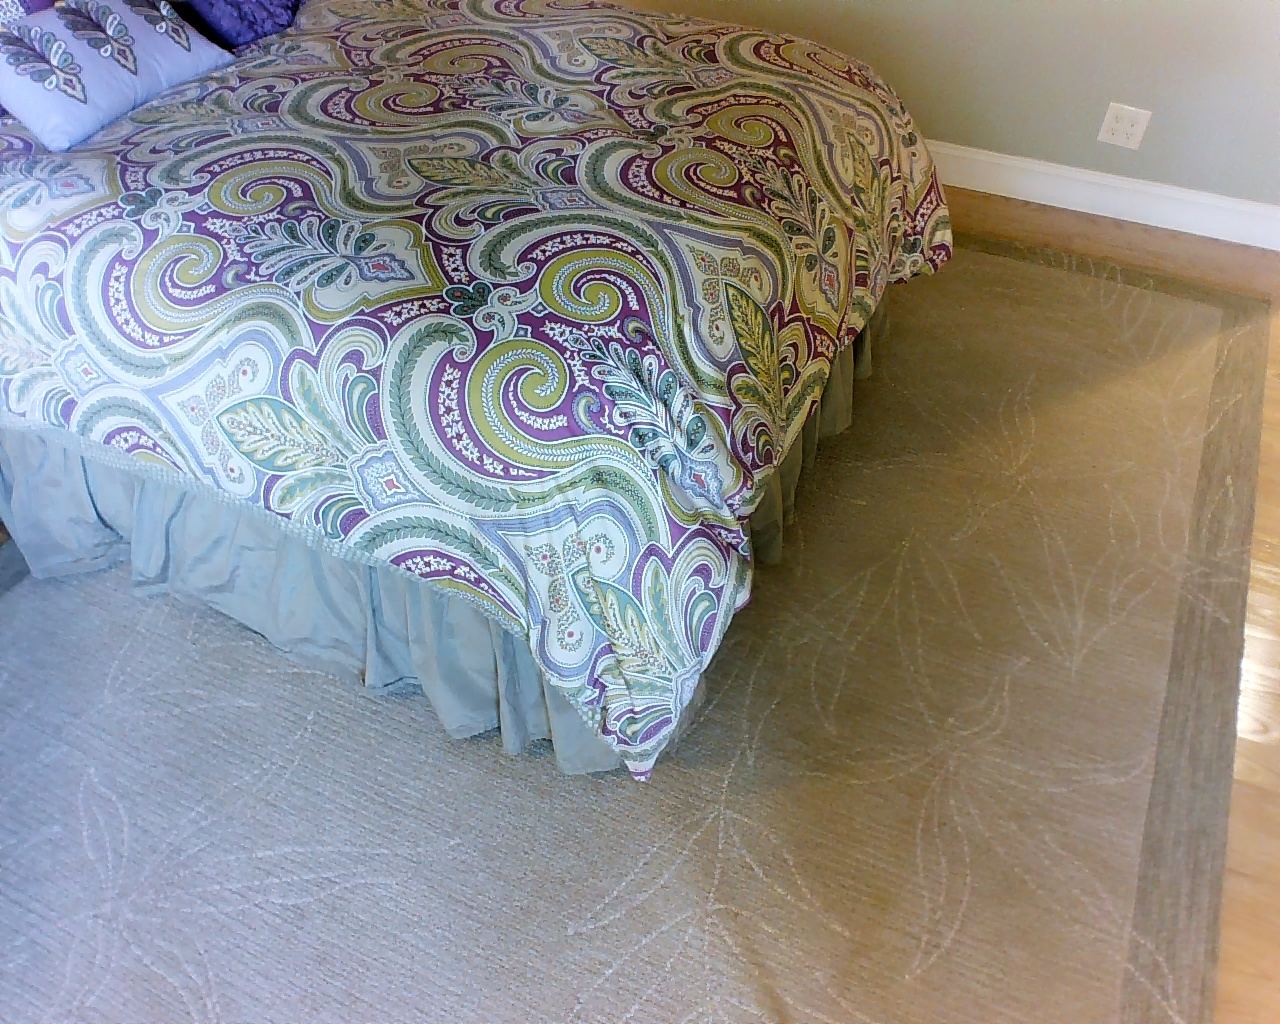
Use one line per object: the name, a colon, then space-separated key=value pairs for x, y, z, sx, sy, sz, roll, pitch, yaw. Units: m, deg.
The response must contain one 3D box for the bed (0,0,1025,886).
bed: x=-0.580 y=-0.900 z=2.160 sx=2.310 sy=1.670 sz=1.830 roll=18 pitch=45 yaw=18
